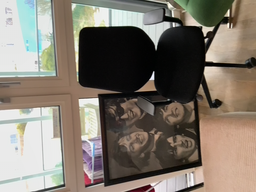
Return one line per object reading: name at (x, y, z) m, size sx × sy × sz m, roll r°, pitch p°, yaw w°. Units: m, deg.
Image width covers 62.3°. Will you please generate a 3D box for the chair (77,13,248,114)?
chair at (0.220, -0.230, 1.470) m, size 0.530 × 1.010 × 0.480 m, roll 27°, pitch 116°, yaw 58°
